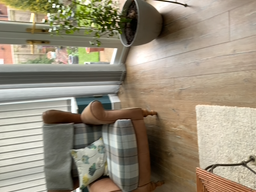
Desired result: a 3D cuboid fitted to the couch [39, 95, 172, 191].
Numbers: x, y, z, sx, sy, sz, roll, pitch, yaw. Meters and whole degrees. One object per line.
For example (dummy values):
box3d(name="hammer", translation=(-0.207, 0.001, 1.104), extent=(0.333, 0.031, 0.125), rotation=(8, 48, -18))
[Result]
box3d(name="couch", translation=(-0.270, 0.550, 2.080), extent=(0.870, 0.980, 0.980), rotation=(-10, 85, 63))

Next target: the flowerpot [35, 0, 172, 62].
box3d(name="flowerpot", translation=(-0.230, -0.670, 1.880), extent=(0.370, 1.030, 0.630), rotation=(-55, 46, 51))
